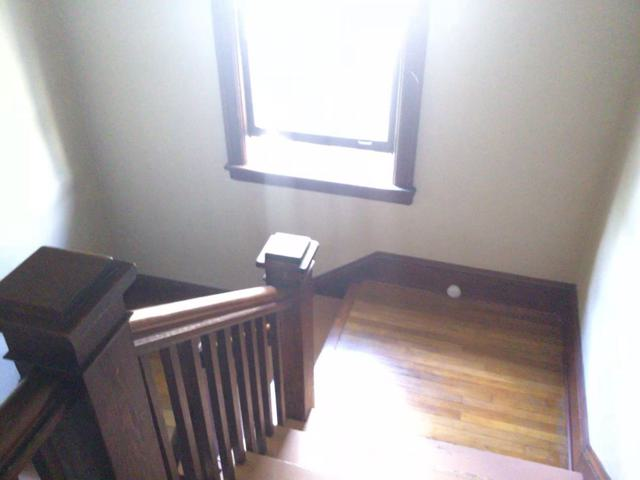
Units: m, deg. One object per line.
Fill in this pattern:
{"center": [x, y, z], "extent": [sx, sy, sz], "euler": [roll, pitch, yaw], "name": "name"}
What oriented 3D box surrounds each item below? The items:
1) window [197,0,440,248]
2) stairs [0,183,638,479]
{"center": [0.010, -0.880, 2.920], "extent": [1.100, 1.730, 0.400], "euler": [6, 28, 17], "name": "window"}
{"center": [-0.300, 0.900, 2.830], "extent": [2.920, 1.360, 2.100], "euler": [9, 29, 16], "name": "stairs"}
